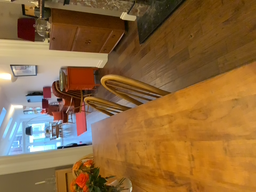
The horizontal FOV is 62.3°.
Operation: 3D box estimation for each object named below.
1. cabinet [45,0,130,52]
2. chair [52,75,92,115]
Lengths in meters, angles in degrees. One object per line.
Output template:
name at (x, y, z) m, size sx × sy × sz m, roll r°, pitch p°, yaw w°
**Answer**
cabinet at (-0.660, -1.090, 3.280) m, size 0.780 × 1.110 × 0.490 m, roll 156°, pitch 110°, yaw -64°
chair at (-1.500, -0.050, 5.590) m, size 0.690 × 0.880 × 0.750 m, roll -123°, pitch 38°, yaw -49°
